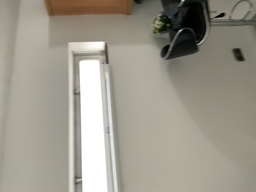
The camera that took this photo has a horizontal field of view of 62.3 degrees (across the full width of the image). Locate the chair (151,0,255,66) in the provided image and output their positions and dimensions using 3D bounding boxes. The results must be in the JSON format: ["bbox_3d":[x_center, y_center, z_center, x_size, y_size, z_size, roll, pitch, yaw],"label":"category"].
[{"bbox_3d":[0.820,-0.630,1.840,0.500,1.100,0.490,102,163,-64],"label":"chair"}]
